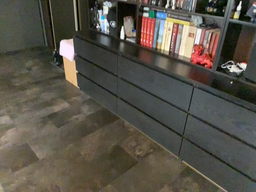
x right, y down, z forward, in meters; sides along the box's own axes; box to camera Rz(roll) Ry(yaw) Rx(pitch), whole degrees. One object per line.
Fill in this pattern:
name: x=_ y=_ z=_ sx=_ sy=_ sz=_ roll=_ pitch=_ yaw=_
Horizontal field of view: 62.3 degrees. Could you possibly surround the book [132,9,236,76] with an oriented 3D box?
book: x=0.420 y=-0.510 z=1.850 sx=0.250 sy=0.340 sz=0.850 roll=-21 pitch=38 yaw=-36
